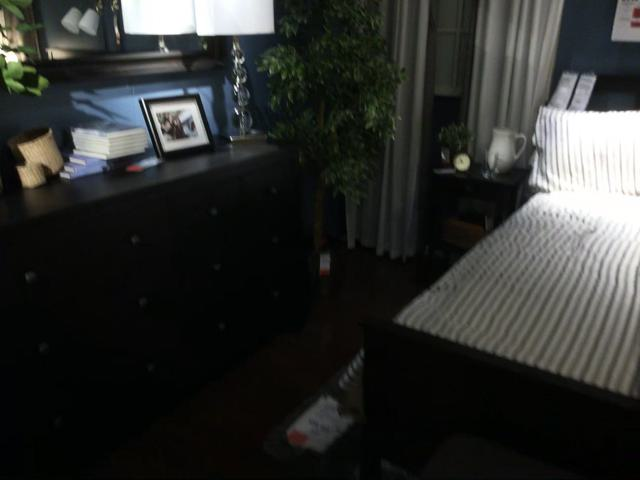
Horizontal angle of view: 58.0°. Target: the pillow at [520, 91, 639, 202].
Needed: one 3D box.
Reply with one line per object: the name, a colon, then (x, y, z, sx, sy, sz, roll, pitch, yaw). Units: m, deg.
pillow: (1.400, -0.410, 2.490, 0.960, 0.420, 0.320, 7, 23, 35)
